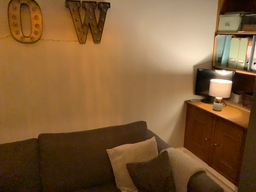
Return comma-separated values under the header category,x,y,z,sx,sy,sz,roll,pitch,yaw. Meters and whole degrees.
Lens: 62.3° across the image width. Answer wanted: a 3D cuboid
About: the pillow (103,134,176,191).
category,x,y,z,sx,sy,sz,roll,pitch,yaw
pillow,0.070,0.610,1.730,0.440,0.390,0.410,-5,17,-21
